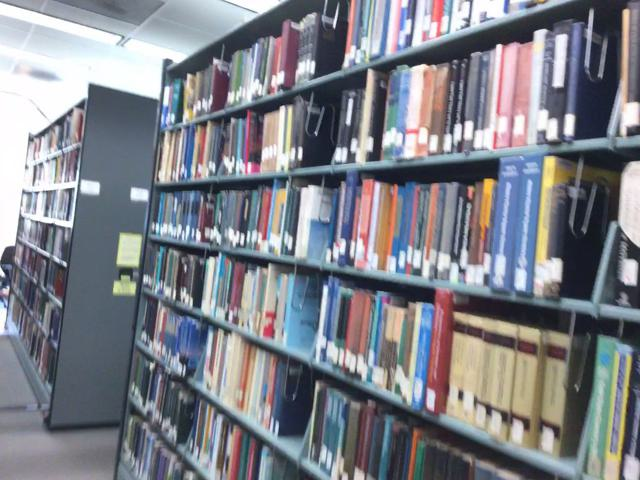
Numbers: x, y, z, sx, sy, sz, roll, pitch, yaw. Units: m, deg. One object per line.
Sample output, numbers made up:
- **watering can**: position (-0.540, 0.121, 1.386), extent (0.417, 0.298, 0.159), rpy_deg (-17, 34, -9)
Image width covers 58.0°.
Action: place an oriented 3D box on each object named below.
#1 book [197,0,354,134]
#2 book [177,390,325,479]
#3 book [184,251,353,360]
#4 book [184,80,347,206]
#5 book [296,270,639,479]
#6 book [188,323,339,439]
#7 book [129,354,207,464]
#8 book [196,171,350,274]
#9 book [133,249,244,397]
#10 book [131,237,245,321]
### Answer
- **book**: position (-0.220, -0.670, 2.330), extent (0.180, 0.330, 0.870), rpy_deg (10, -5, -34)
- **book**: position (-0.310, 0.840, 2.320), extent (0.200, 0.290, 0.810), rpy_deg (10, -5, -34)
- **book**: position (-0.250, 0.240, 2.360), extent (0.260, 0.340, 0.860), rpy_deg (10, -5, -34)
- **book**: position (-0.280, -0.360, 2.440), extent (0.170, 0.370, 1.010), rpy_deg (10, -5, -34)
- **book**: position (0.310, 0.280, 1.490), extent (0.250, 0.330, 0.930), rpy_deg (10, -5, -34)
- **book**: position (-0.260, 0.530, 2.310), extent (0.210, 0.280, 0.800), rpy_deg (10, -5, -34)
- **book**: position (-0.770, 0.810, 2.870), extent (0.100, 0.360, 0.690), rpy_deg (10, -5, -34)
- **book**: position (-0.230, -0.060, 2.250), extent (0.100, 0.320, 0.950), rpy_deg (10, -5, -34)
- **book**: position (-0.690, 0.380, 2.920), extent (0.180, 0.630, 0.800), rpy_deg (10, -5, -34)
- **book**: position (-0.710, 0.180, 2.990), extent (0.230, 0.360, 0.860), rpy_deg (10, -5, -34)
